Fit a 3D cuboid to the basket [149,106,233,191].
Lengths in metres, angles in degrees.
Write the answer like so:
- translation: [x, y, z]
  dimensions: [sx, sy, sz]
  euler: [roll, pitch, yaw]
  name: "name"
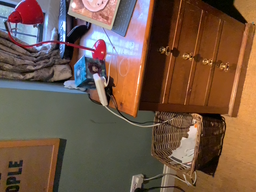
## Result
- translation: [0.400, 0.320, 1.390]
  dimensions: [0.340, 0.320, 0.440]
  euler: [15, 99, 52]
  name: "basket"
